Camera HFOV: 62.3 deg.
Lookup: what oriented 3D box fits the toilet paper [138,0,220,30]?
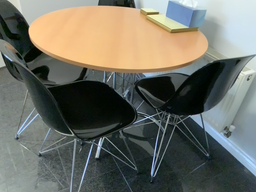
[{"bbox_3d":[0.310,-0.590,1.410,0.330,0.140,0.450,-8,39,-19],"label":"toilet paper"}]
